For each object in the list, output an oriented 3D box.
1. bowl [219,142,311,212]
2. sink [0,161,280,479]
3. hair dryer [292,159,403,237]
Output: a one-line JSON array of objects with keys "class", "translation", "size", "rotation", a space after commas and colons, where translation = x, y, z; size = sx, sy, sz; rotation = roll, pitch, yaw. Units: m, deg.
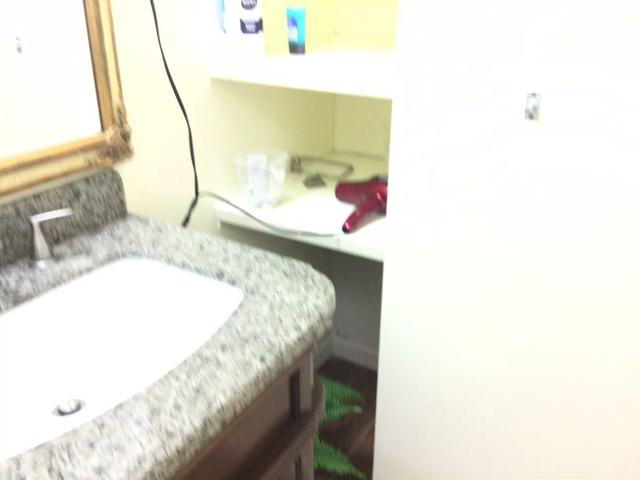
[{"class": "bowl", "translation": [-0.140, -0.170, 1.510], "size": [0.180, 0.120, 0.150], "rotation": [14, 28, 28]}, {"class": "sink", "translation": [-0.380, 0.130, 0.870], "size": [0.440, 0.330, 0.470], "rotation": [14, 28, 28]}, {"class": "hair dryer", "translation": [0.070, -0.110, 1.410], "size": [0.190, 0.100, 0.210], "rotation": [14, 28, 28]}]
